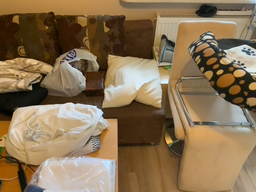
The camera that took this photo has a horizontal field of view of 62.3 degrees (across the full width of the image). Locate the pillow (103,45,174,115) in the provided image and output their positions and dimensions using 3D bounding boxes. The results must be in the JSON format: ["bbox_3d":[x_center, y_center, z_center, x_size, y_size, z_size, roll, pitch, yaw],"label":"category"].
[{"bbox_3d":[0.040,-0.150,1.640,0.440,0.220,0.580,-3,41,-6],"label":"pillow"}]

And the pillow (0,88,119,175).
[{"bbox_3d":[-0.390,0.170,1.200,0.660,0.140,0.500,-1,41,-4],"label":"pillow"}]
